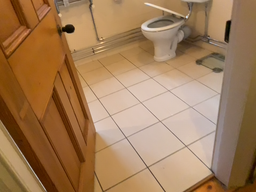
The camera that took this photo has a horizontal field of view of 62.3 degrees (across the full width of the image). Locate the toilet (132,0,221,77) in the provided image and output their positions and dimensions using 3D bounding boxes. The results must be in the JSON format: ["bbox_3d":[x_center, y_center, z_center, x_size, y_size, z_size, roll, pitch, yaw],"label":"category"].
[{"bbox_3d":[0.500,-0.810,2.220,0.720,0.900,0.480,-24,38,-18],"label":"toilet"}]
